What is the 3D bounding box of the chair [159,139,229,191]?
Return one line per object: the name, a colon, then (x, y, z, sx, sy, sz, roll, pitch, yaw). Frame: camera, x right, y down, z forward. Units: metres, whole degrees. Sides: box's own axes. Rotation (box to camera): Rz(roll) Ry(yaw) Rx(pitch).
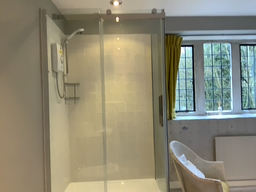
chair: (0.780, 0.930, 2.430, 0.660, 0.700, 0.640, -1, 0, 28)
